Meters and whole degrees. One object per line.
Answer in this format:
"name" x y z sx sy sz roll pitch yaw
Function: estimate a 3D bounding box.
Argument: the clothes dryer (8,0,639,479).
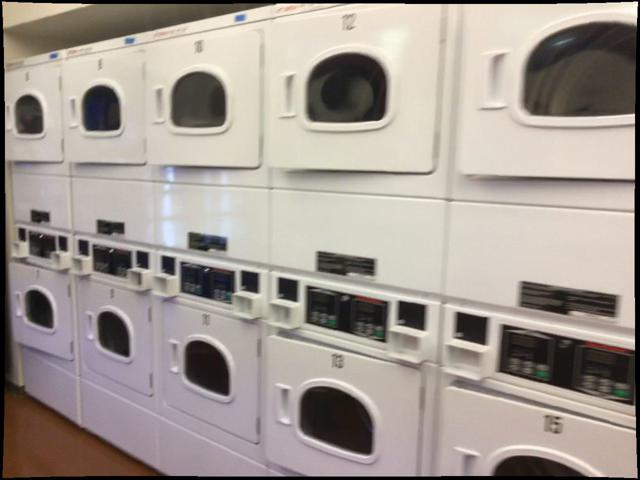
"clothes dryer" -0.090 0.030 2.410 3.098 2.062 0.910 8 11 39
